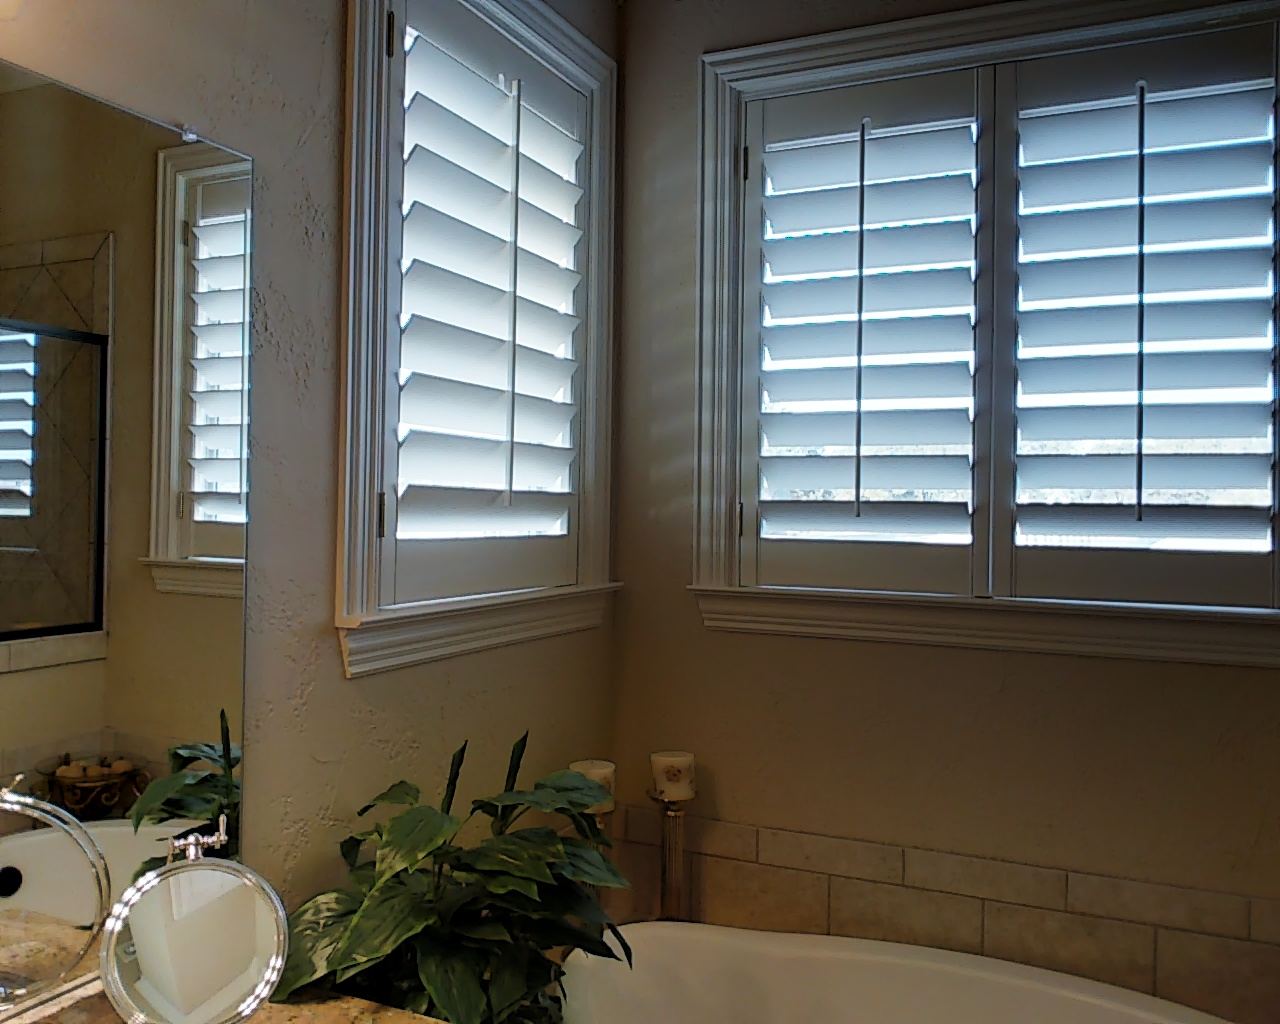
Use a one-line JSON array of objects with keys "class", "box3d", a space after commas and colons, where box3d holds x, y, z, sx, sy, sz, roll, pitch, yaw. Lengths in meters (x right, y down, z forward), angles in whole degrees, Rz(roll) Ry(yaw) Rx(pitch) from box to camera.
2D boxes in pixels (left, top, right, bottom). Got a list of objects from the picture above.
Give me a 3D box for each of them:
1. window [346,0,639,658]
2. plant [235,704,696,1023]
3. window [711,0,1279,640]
[{"class": "window", "box3d": [-0.250, -0.390, 2.240, 0.070, 1.280, 0.960, 1, -1, 25]}, {"class": "plant", "box3d": [-0.250, 0.690, 1.730, 0.490, 0.640, 0.570, 1, -1, 25]}, {"class": "window", "box3d": [0.790, -0.410, 2.310, 1.310, 1.300, 0.090, 1, -1, 25]}]
